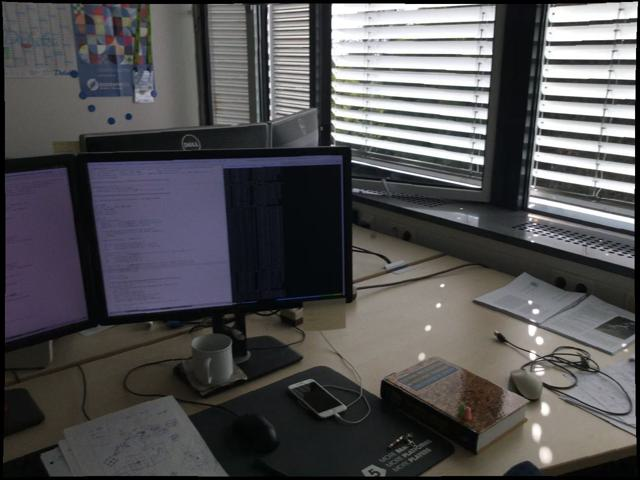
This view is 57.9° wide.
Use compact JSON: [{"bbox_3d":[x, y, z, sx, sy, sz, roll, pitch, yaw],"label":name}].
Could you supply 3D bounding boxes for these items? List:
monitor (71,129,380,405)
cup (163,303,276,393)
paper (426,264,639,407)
[{"bbox_3d":[-0.190,0.040,1.280,0.589,0.520,0.200,-5,20,-15],"label":"monitor"},{"bbox_3d":[-0.230,0.240,1.330,0.200,0.090,0.160,-15,24,-38],"label":"cup"},{"bbox_3d":[0.669,0.220,1.590,0.450,0.040,0.590,-15,24,-38],"label":"paper"}]
